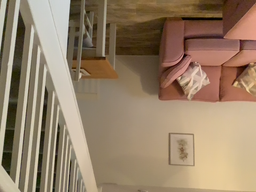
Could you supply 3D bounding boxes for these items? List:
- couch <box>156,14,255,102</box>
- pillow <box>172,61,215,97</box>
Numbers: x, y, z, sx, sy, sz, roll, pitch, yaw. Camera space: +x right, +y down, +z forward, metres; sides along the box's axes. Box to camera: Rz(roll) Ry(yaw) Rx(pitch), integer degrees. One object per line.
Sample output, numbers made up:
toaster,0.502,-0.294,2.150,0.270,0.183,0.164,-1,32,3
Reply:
couch,1.410,-0.460,3.060,1.910,0.950,1.070,1,172,3
pillow,0.960,-0.230,3.080,0.190,0.460,0.590,43,-156,27
